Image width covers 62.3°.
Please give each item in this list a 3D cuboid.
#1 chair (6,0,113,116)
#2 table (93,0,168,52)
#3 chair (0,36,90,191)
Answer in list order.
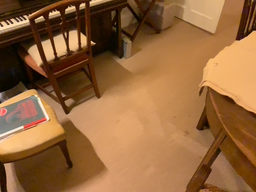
[{"bbox_3d":[-0.500,-0.400,1.770,0.560,0.920,0.440,-32,54,-28],"label":"chair"},{"bbox_3d":[0.040,-1.120,2.560,0.750,0.820,0.490,-31,53,-28],"label":"table"},{"bbox_3d":[-0.630,0.150,1.320,0.530,0.770,0.470,-30,53,-27],"label":"chair"}]
